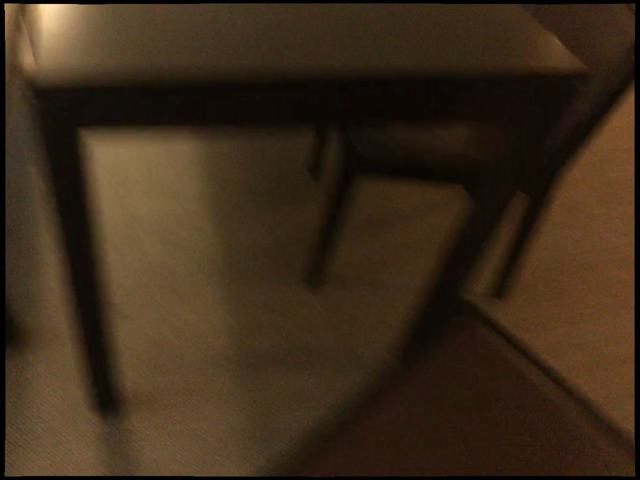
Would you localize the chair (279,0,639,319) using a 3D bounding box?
[{"bbox_3d":[0.299,-0.251,1.350,0.599,0.751,0.430,-4,47,-20],"label":"chair"}]
